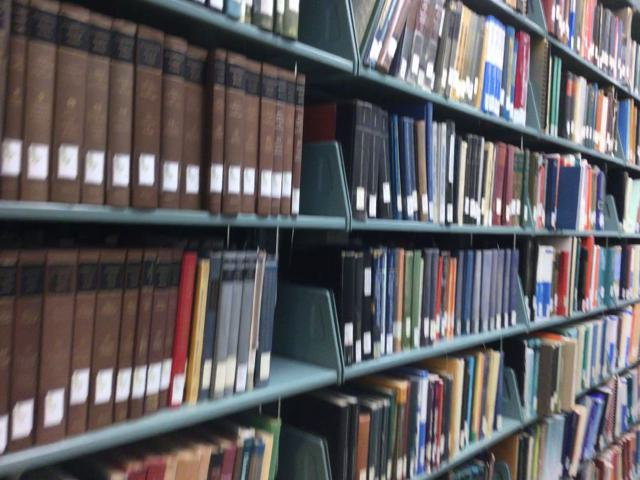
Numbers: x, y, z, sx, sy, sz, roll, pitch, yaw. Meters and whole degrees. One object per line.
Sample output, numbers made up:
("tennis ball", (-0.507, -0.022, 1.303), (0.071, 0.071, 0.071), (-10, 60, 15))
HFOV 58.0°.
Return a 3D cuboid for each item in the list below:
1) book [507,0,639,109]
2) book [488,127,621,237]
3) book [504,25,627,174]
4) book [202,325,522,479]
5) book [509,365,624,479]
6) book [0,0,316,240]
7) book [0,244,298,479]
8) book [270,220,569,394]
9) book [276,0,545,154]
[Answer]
("book", (0.960, -0.750, 2.060), (0.150, 0.350, 1.020), (3, 1, 41))
("book", (0.840, -0.180, 2.030), (0.230, 0.310, 0.610), (3, 1, 41))
("book", (0.910, -0.460, 2.080), (0.140, 0.350, 0.820), (3, 1, 41))
("book", (0.190, 0.440, 1.460), (0.220, 0.330, 1.030), (3, 1, 41))
("book", (0.960, 0.710, 2.180), (0.090, 0.330, 0.960), (3, 1, 41))
("book", (-0.280, -0.160, 0.770), (0.050, 0.300, 0.750), (3, 1, 41))
("book", (-0.350, 0.150, 0.810), (0.160, 0.280, 0.740), (3, 1, 41))
("book", (0.380, 0.140, 1.640), (0.220, 0.330, 1.210), (3, 1, 41))
("book", (0.300, -0.470, 1.480), (0.190, 0.360, 0.940), (3, 1, 41))
